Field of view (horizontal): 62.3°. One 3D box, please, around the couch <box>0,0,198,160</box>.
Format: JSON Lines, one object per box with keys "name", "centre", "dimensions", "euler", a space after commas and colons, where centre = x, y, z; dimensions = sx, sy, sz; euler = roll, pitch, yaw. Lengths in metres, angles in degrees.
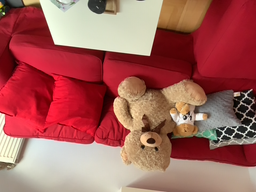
{"name": "couch", "centre": [-0.320, -0.050, 1.860], "dimensions": [1.480, 0.850, 0.960], "euler": [7, 152, -3]}
